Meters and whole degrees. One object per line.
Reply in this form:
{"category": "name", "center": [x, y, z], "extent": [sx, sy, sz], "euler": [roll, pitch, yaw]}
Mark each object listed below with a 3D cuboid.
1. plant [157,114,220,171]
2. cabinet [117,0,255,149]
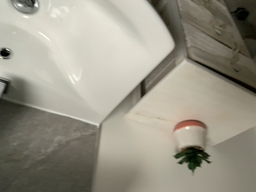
{"category": "plant", "center": [0.190, 0.160, 0.700], "extent": [0.110, 0.120, 0.150], "euler": [21, 140, -25]}
{"category": "cabinet", "center": [0.220, -0.260, 0.930], "extent": [0.410, 0.840, 0.280], "euler": [22, 139, -25]}
